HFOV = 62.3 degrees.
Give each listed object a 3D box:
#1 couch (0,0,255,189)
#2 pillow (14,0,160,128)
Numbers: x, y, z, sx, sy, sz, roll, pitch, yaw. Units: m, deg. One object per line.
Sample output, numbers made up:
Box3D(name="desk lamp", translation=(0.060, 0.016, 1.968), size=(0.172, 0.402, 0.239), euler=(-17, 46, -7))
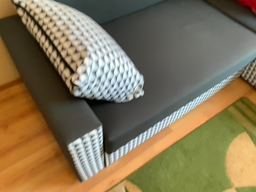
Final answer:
Box3D(name="couch", translation=(0.450, -0.530, 1.540), size=(2.360, 0.750, 0.930), euler=(-29, 61, -21))
Box3D(name="pillow", translation=(-0.220, -0.270, 1.040), size=(0.340, 0.430, 0.700), euler=(-33, 71, -12))
